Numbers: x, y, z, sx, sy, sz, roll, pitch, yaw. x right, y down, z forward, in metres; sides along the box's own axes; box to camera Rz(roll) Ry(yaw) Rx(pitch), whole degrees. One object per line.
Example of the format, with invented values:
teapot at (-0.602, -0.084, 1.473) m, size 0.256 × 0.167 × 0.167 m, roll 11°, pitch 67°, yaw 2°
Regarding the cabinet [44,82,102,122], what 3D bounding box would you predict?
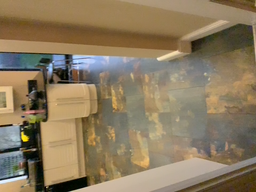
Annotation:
cabinet at (-0.980, 0.090, 3.820) m, size 0.300 × 0.920 × 0.630 m, roll -6°, pitch 88°, yaw 61°
